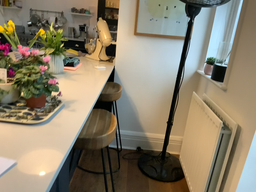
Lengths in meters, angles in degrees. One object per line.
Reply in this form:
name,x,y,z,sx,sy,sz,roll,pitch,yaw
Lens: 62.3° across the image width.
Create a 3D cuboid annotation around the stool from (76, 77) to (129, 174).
stool,-0.230,0.260,2.000,0.370,0.760,0.430,7,18,1
